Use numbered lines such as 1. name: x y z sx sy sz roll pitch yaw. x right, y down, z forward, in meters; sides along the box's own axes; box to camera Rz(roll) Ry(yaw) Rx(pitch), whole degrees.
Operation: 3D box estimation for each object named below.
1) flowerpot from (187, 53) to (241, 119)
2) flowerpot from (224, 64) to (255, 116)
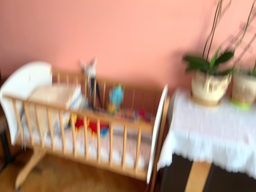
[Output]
1. flowerpot: 0.500 -0.070 1.280 0.210 0.290 0.250 11 29 13
2. flowerpot: 0.700 -0.040 1.270 0.160 0.240 0.170 11 29 12
